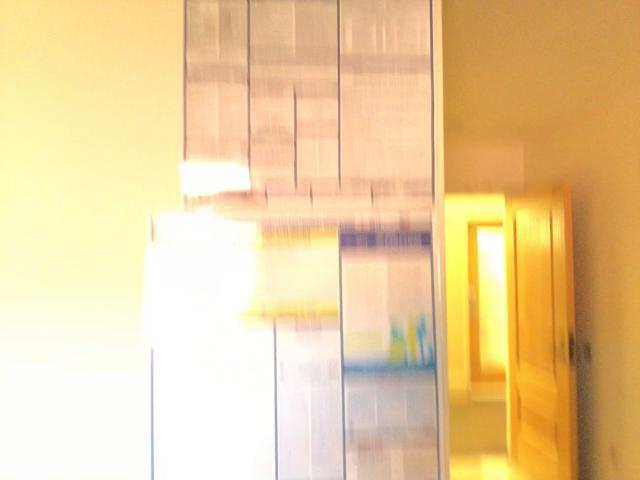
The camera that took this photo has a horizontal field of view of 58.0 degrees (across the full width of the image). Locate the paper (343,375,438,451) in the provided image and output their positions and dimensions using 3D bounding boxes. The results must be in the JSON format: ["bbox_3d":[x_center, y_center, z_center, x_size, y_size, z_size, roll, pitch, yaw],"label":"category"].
[{"bbox_3d":[0.160,0.390,1.310,0.210,0.150,0.020,-2,0,-7],"label":"paper"}]
